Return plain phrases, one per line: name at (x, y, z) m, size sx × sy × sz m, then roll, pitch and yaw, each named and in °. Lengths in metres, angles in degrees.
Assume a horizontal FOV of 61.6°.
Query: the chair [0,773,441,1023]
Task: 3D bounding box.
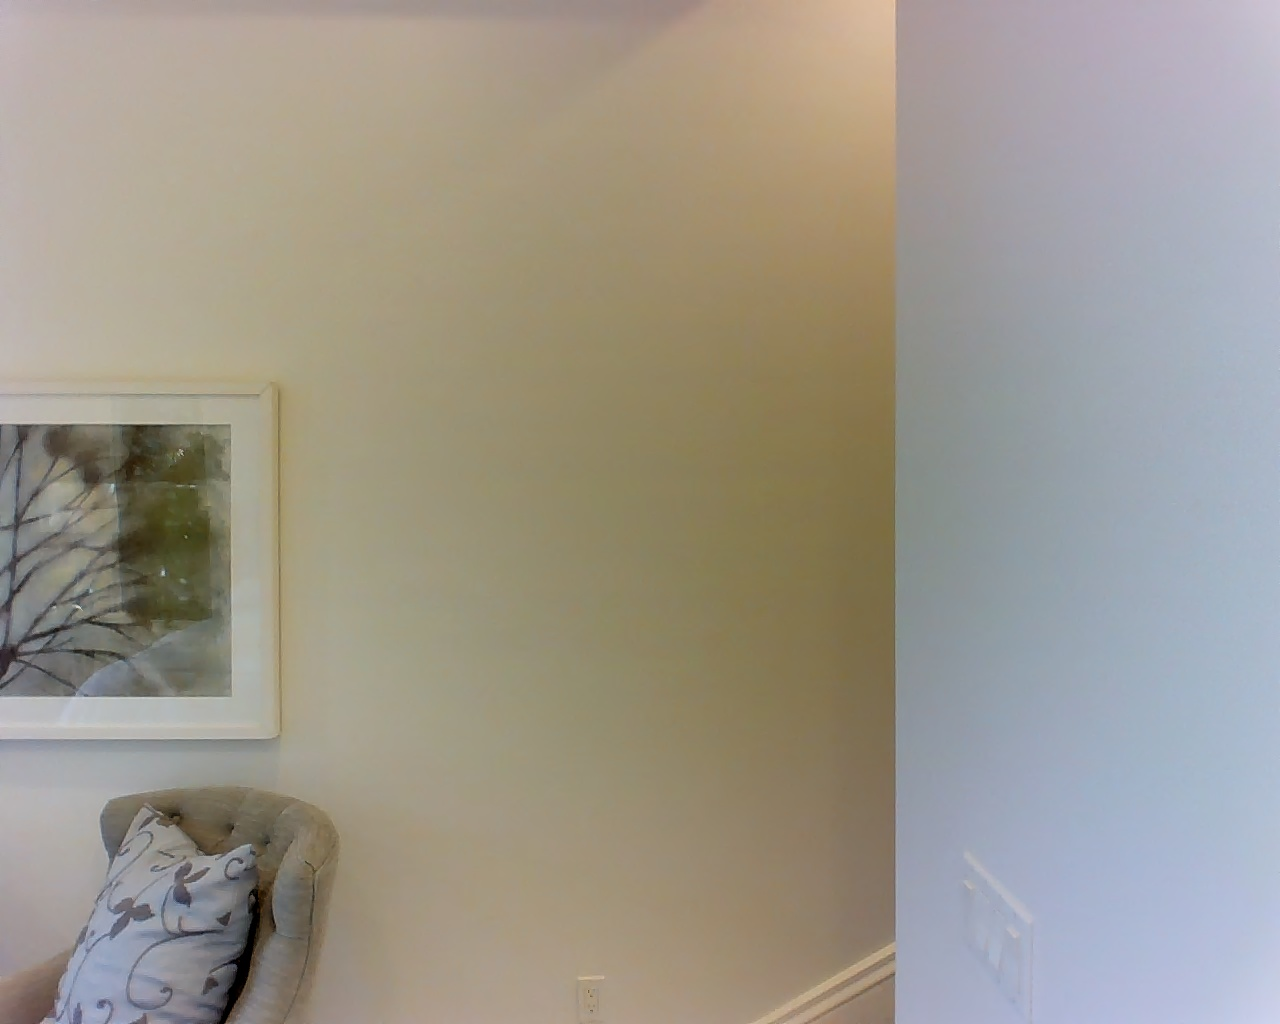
chair at (-1.020, 1.120, 2.110) m, size 0.840 × 0.900 × 0.910 m, roll 0°, pitch 1°, yaw 39°
